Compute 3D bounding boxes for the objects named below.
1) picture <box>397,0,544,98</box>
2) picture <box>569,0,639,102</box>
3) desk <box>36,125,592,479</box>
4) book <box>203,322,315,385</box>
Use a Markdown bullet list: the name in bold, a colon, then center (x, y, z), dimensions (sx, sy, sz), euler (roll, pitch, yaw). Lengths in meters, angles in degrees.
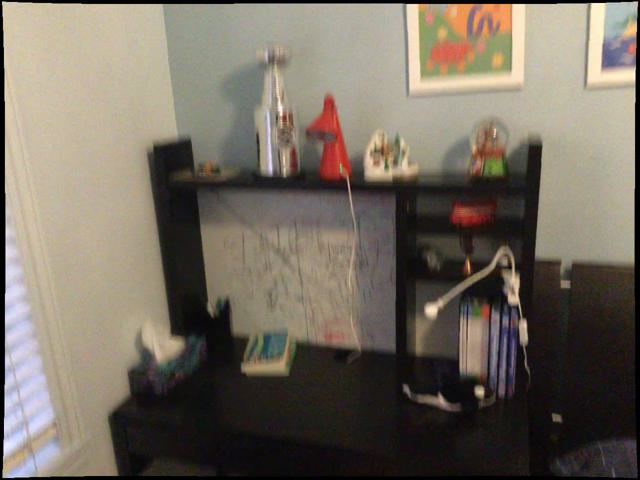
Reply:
- **picture**: center (0.380, -0.541, 1.490), dimensions (0.360, 0.330, 0.030), euler (3, 19, 17)
- **picture**: center (0.789, -0.511, 1.370), dimensions (0.340, 0.350, 0.030), euler (3, 19, 17)
- **desk**: center (0.030, 0.420, 1.600), dimensions (1.129, 1.371, 0.600), euler (3, 19, 17)
- **book**: center (-0.180, 0.340, 1.770), dimensions (0.270, 0.060, 0.230), euler (3, 19, 17)
